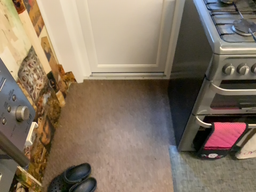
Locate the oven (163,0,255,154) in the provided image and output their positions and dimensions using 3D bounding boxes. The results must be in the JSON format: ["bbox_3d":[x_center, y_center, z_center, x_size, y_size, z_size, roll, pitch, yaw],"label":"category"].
[{"bbox_3d":[0.610,-0.110,1.380,0.580,0.740,0.690,-2,52,0],"label":"oven"}]

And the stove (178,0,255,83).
[{"bbox_3d":[0.600,-0.380,1.030,0.580,0.140,0.690,-2,52,0],"label":"stove"}]
